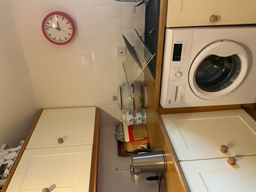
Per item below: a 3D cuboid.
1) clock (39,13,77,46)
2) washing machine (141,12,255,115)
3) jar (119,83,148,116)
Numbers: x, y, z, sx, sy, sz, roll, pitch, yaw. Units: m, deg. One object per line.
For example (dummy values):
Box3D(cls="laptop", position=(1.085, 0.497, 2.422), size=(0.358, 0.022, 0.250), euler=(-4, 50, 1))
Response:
Box3D(cls="clock", position=(-0.610, -0.590, 1.880), size=(0.040, 0.280, 0.270), euler=(-101, 9, -60))
Box3D(cls="washing machine", position=(0.600, -0.320, 1.790), size=(0.700, 0.870, 0.620), euler=(-101, 9, -60))
Box3D(cls="jar", position=(0.050, 0.030, 2.130), size=(0.250, 0.250, 0.230), euler=(-101, 9, -60))
